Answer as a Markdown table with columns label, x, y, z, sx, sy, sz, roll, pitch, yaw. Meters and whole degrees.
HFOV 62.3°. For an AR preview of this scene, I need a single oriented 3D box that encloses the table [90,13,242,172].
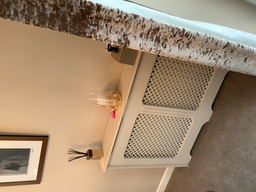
| label | x | y | z | sx | sy | sz | roll | pitch | yaw |
| --- | --- | --- | --- | --- | --- | --- | --- | --- | --- |
| table | 0.300 | 0.080 | 1.800 | 0.170 | 0.960 | 1.240 | 50 | 127 | 57 |
